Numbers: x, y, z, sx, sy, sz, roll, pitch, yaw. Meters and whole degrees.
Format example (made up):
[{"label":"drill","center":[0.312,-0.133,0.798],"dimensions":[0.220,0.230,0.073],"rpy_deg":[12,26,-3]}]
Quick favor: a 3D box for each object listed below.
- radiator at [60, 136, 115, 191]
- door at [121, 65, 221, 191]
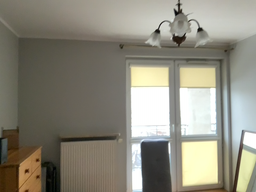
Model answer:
[{"label":"radiator","center":[-0.600,1.100,3.170],"dimensions":[0.780,0.950,0.180],"rpy_deg":[0,-2,-13]},{"label":"door","center":[0.770,0.650,3.730],"dimensions":[1.760,2.330,0.190],"rpy_deg":[0,-2,-13]}]
